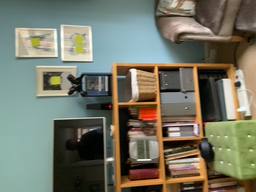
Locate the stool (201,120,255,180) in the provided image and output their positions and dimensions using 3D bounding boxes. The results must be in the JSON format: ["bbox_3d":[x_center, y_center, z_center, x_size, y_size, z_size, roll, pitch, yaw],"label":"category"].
[{"bbox_3d":[0.830,0.360,1.550,0.370,0.400,0.360,143,125,-77],"label":"stool"}]

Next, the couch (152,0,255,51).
[{"bbox_3d":[0.640,-0.840,1.800,0.700,0.630,0.690,-108,19,-57],"label":"couch"}]
